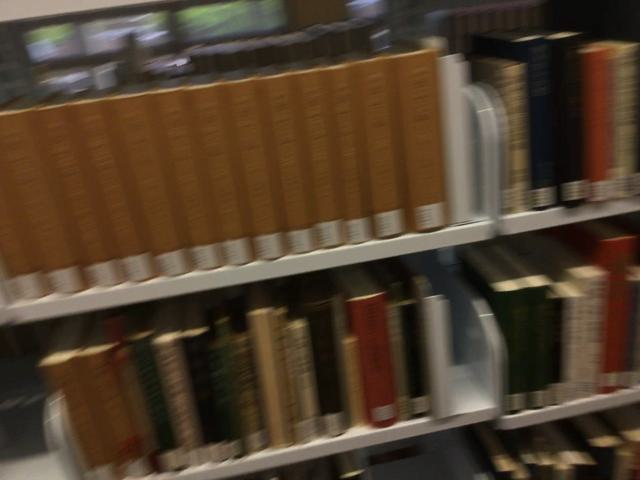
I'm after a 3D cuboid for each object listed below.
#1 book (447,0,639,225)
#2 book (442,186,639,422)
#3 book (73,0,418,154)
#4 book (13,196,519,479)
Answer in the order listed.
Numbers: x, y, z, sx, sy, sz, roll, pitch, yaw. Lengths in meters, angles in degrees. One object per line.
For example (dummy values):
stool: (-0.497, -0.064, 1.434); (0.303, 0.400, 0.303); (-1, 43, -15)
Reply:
book: (0.420, -0.200, 0.800); (0.420, 0.220, 0.210); (-12, 24, -8)
book: (0.440, 0.080, 0.920); (0.430, 0.240, 0.220); (-9, 23, -9)
book: (-0.120, -0.330, 1.080); (0.570, 0.230, 0.170); (-9, 23, -9)
book: (-0.060, 0.140, 0.870); (0.620, 0.260, 0.260); (-9, 23, -9)
